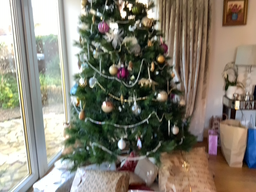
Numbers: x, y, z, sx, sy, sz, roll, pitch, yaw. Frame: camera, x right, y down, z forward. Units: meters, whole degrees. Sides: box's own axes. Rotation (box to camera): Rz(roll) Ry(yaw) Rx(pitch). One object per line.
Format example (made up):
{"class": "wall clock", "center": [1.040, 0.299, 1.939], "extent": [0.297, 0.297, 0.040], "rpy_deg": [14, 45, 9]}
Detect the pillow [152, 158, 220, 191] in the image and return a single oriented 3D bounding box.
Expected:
{"class": "pillow", "center": [0.460, 0.660, 1.770], "extent": [0.410, 0.430, 0.180], "rpy_deg": [10, 68, -4]}
